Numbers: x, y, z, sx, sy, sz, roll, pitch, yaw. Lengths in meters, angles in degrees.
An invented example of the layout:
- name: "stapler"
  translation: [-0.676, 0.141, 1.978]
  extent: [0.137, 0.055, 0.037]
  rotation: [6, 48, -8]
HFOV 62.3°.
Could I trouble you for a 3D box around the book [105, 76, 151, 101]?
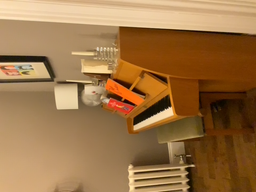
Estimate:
- name: "book"
  translation: [-0.010, -0.050, 1.600]
  extent: [0.250, 0.290, 0.130]
  rotation: [134, 134, -72]
